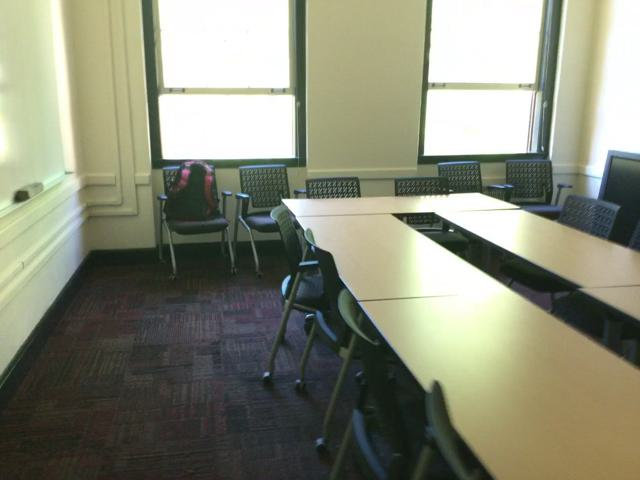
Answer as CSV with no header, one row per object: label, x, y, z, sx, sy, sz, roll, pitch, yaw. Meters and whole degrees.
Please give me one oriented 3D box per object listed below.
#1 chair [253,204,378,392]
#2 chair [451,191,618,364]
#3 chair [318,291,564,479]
chair,-0.010,0.260,2.950,0.550,0.770,0.640,1,15,2
chair,1.180,0.180,3.310,0.590,0.810,0.610,-2,15,-10
chair,0.280,0.620,1.690,0.460,0.750,0.620,-2,15,-10
